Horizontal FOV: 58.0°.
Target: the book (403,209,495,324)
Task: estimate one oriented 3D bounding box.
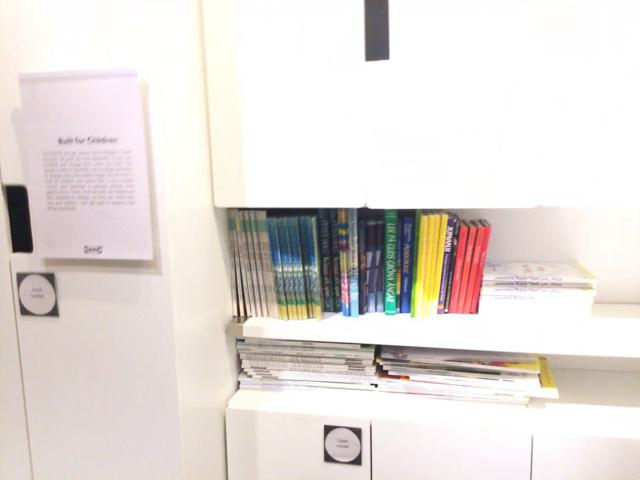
[{"bbox_3d":[0.280,0.050,1.250,0.180,0.220,0.140,1,9,16],"label":"book"}]

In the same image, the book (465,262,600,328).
[{"bbox_3d":[0.440,0.110,1.230,0.250,0.090,0.180,1,9,16],"label":"book"}]

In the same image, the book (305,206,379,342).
[{"bbox_3d":[0.050,0.060,1.160,0.110,0.240,0.160,1,9,16],"label":"book"}]

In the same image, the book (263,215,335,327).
[{"bbox_3d":[-0.040,0.060,1.230,0.110,0.210,0.140,1,9,16],"label":"book"}]

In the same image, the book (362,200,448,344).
[{"bbox_3d":[0.180,0.050,1.170,0.140,0.240,0.250,1,9,16],"label":"book"}]
